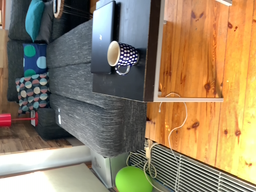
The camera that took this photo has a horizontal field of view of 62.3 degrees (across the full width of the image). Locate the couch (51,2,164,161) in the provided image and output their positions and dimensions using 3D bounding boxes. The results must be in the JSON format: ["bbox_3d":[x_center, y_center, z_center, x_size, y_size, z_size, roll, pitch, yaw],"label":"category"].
[{"bbox_3d":[-0.300,-0.130,1.890,1.250,0.430,0.940,10,98,56],"label":"couch"}]
